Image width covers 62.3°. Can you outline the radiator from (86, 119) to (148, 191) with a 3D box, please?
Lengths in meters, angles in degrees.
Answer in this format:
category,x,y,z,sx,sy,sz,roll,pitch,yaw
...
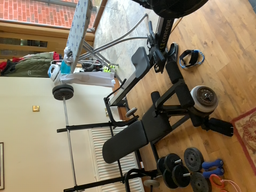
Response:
category,x,y,z,sx,sy,sz,roll,pitch,yaw
radiator,-0.070,1.130,2.650,0.100,0.630,1.710,-49,50,52

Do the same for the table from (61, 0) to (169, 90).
category,x,y,z,sx,sy,sz,roll,pitch,yaw
table,-0.290,-0.650,2.890,1.550,0.940,0.360,-53,46,50
